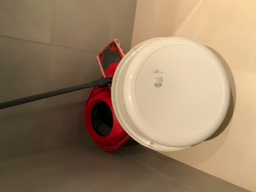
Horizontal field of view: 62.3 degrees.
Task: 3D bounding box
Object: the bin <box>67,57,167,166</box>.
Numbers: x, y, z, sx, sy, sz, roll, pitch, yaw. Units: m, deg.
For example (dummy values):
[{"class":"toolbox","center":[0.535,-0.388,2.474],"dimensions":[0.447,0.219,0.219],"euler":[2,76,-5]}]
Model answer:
[{"class":"bin","center":[-0.050,0.050,1.030],"dimensions":[0.260,0.350,0.410],"euler":[16,101,40]}]
